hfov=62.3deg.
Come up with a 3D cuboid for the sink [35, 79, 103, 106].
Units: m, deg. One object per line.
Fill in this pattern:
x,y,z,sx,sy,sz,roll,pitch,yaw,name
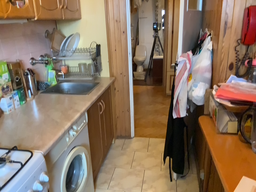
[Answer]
-0.540,-0.050,2.060,0.460,0.100,0.500,2,20,10,sink
